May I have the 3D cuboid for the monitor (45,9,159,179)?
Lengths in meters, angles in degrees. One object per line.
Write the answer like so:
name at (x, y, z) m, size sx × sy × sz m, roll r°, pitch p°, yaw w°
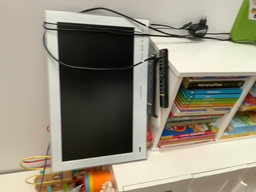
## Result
monitor at (-0.080, 0.000, 0.770) m, size 0.030 × 0.390 × 0.560 m, roll -156°, pitch 66°, yaw -68°
